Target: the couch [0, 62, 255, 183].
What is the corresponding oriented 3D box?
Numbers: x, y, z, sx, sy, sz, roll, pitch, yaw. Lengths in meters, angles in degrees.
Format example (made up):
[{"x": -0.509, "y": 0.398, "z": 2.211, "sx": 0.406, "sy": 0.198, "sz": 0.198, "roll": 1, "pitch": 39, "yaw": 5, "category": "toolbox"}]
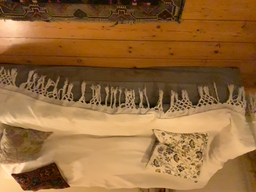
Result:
[{"x": -0.090, "y": 0.320, "z": 1.870, "sx": 2.130, "sy": 0.650, "sz": 1.080, "roll": 1, "pitch": 149, "yaw": 0, "category": "couch"}]
